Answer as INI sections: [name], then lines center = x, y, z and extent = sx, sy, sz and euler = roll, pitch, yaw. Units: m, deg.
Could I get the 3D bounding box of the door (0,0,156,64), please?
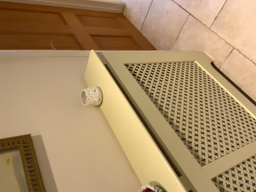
[door]
center = -0.740, -0.530, 1.610
extent = 0.820, 1.940, 0.060
euler = 56, 139, 32
